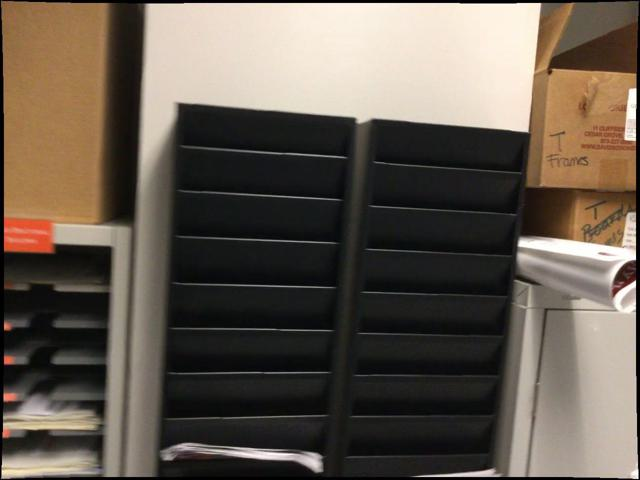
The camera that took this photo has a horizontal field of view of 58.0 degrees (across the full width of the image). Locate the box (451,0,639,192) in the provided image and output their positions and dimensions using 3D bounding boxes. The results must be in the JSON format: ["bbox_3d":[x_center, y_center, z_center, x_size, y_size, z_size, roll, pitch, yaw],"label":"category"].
[{"bbox_3d":[0.469,-0.271,1.110,0.269,0.321,0.400,5,8,-7],"label":"box"}]

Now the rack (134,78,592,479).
[{"bbox_3d":[-0.010,0.632,0.920,0.559,1.654,0.160,5,8,-7],"label":"rack"}]
